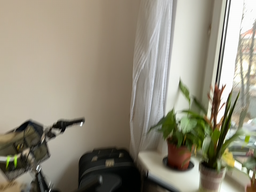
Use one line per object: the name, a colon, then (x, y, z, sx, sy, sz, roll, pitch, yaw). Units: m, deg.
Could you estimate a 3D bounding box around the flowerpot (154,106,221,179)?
flowerpot: (0.360, 0.270, 1.340, 0.270, 0.360, 0.260, 0, 12, -18)
